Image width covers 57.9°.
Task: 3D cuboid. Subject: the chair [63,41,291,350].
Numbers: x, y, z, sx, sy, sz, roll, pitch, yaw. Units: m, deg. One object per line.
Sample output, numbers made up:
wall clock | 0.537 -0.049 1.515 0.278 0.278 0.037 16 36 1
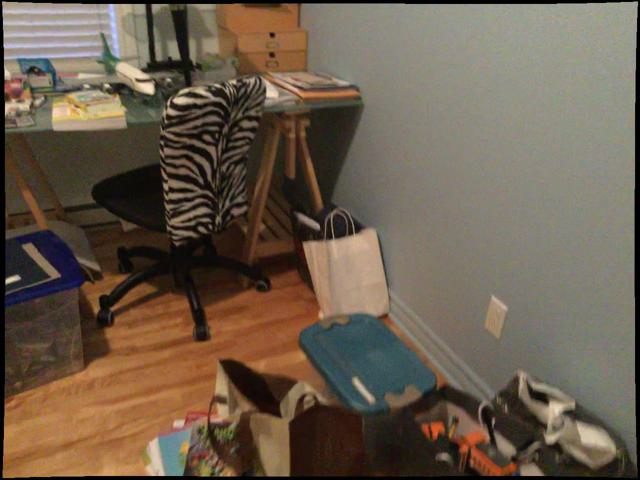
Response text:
chair | -0.499 -0.200 2.130 0.470 0.881 0.650 -23 38 -37
